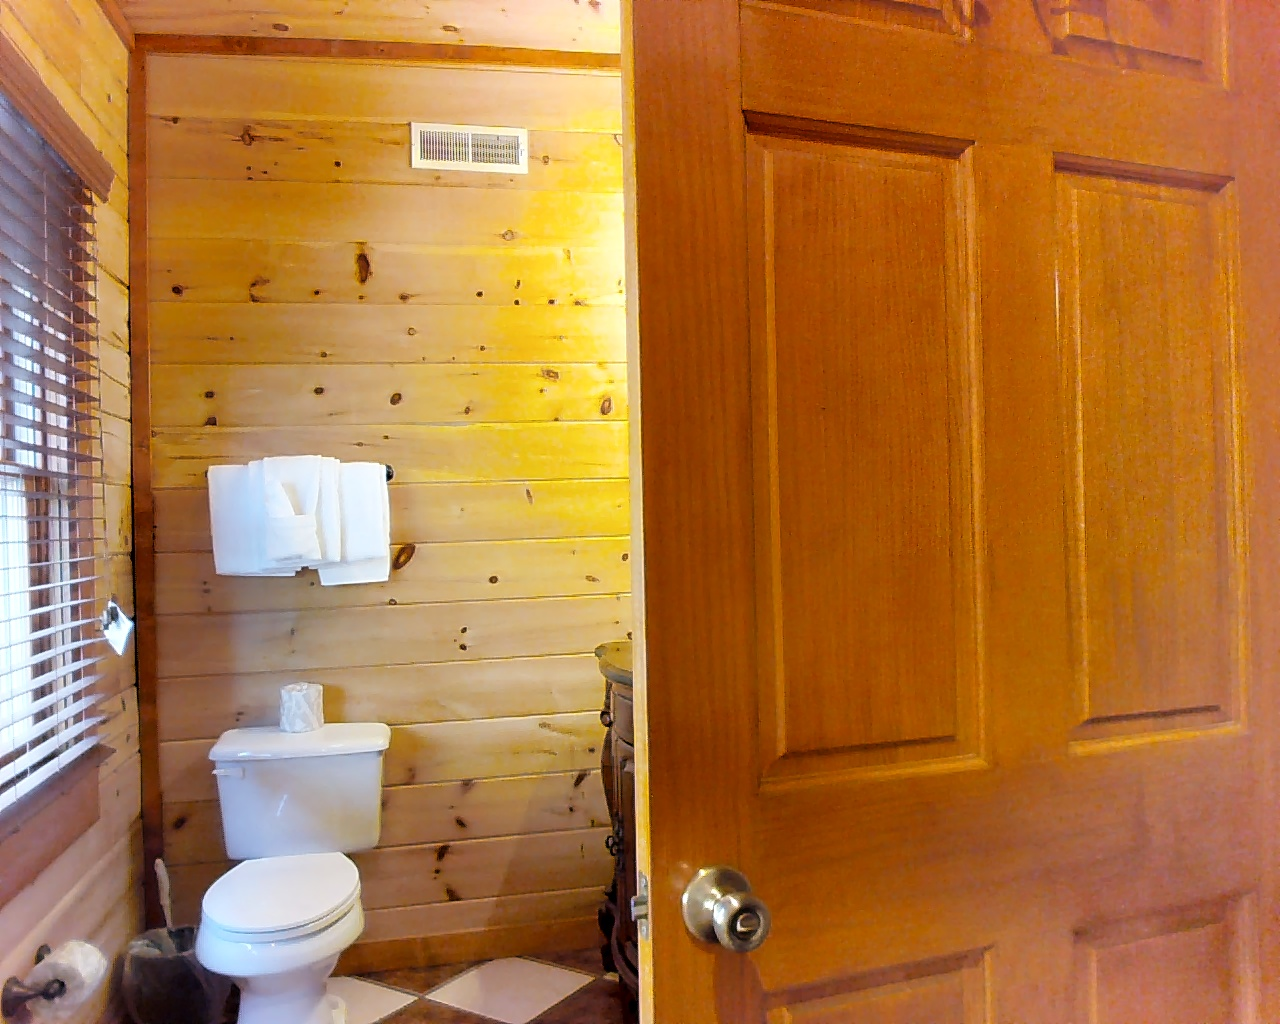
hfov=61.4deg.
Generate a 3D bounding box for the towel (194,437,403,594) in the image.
[{"bbox_3d":[-0.930,0.010,2.980,0.530,0.410,0.220,-1,-2,-12],"label":"towel"}]

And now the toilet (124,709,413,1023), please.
[{"bbox_3d":[-0.860,0.940,2.660,0.560,0.760,0.780,-1,-2,-10],"label":"toilet"}]
